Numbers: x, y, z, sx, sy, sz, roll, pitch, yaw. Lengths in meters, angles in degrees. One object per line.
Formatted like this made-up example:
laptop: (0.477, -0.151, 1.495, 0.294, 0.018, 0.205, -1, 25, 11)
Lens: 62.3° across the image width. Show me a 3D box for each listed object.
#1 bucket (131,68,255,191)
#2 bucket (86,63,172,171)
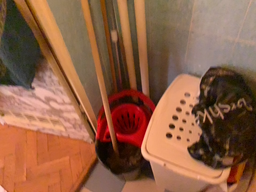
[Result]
bucket: (0.280, 0.230, 0.930, 0.370, 0.500, 0.380, 18, 58, 19)
bucket: (0.030, 0.120, 1.090, 0.270, 0.420, 0.310, 19, 58, 19)
